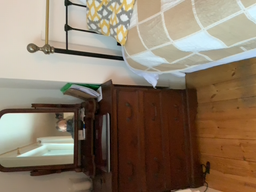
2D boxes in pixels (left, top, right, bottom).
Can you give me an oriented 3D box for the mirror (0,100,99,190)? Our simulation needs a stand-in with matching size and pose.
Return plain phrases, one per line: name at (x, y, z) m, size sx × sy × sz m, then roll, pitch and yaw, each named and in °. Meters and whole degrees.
mirror at (-0.590, 0.330, 1.590) m, size 0.090 × 0.670 × 0.480 m, roll -15°, pitch 86°, yaw 60°
